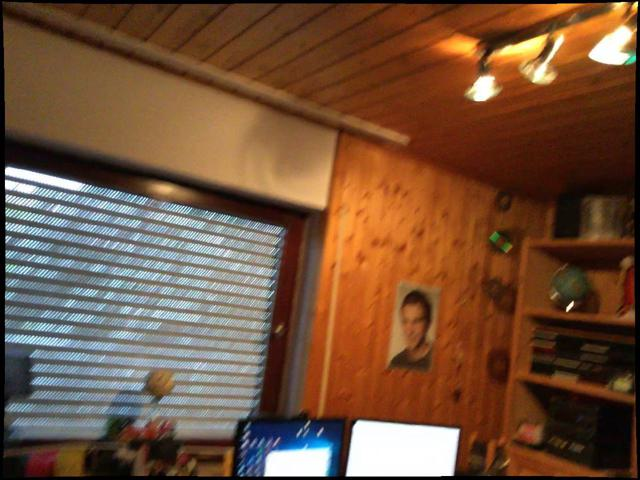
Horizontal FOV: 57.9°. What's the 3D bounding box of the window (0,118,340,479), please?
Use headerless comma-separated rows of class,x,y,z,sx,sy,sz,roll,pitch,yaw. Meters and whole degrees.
window,-0.729,0.310,2.390,1.509,1.251,0.390,11,-6,-32
